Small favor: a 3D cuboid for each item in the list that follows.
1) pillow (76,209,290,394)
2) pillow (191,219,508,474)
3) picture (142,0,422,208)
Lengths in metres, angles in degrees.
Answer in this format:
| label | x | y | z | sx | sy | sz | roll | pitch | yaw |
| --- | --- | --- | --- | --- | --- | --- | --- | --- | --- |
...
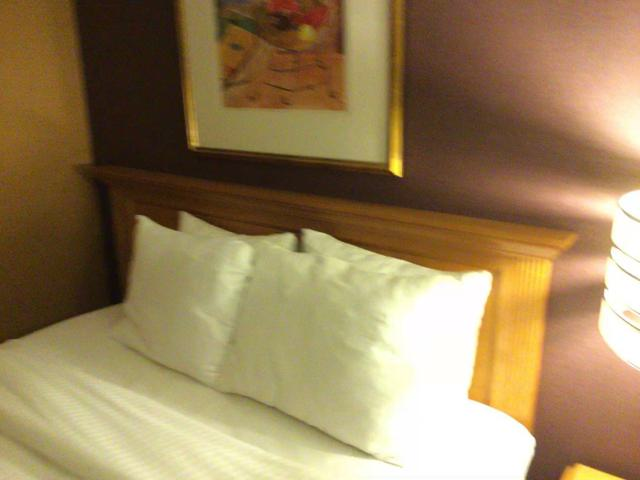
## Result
| label | x | y | z | sx | sy | sz | roll | pitch | yaw |
| --- | --- | --- | --- | --- | --- | --- | --- | --- | --- |
| pillow | -0.400 | 0.140 | 1.660 | 0.590 | 0.370 | 0.250 | 10 | 14 | 33 |
| pillow | 0.060 | 0.200 | 1.440 | 0.660 | 0.380 | 0.390 | 10 | 14 | 33 |
| picture | -0.150 | -0.620 | 1.620 | 0.880 | 0.960 | 0.140 | 10 | 14 | 33 |
